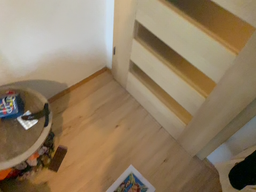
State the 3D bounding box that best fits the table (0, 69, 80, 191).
[{"bbox_3d":[-0.610,0.230,1.180,0.460,0.420,0.450,-36,66,-26],"label":"table"}]
